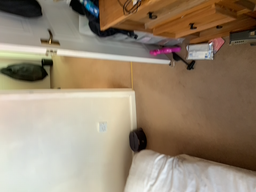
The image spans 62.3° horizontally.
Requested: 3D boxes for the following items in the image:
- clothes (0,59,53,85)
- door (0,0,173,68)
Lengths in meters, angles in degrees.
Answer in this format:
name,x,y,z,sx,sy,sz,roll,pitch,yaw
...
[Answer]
name,x,y,z,sx,sy,sz,roll,pitch,yaw
clothes,-1.950,-0.440,4.040,0.250,0.920,0.420,-3,90,53
door,-0.620,-0.530,1.430,0.880,1.930,0.090,56,133,34
